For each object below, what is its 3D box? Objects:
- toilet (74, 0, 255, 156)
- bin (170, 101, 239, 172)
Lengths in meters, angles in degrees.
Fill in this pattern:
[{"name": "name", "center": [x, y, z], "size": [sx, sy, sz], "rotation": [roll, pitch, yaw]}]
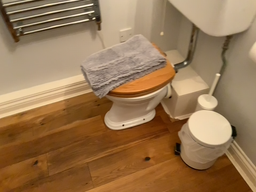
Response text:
[{"name": "toilet", "center": [0.120, -0.240, 1.090], "size": [0.620, 0.980, 0.520], "rotation": [-16, 50, -12]}, {"name": "bin", "center": [0.380, 0.220, 1.130], "size": [0.210, 0.290, 0.210], "rotation": [-14, 50, -10]}]
